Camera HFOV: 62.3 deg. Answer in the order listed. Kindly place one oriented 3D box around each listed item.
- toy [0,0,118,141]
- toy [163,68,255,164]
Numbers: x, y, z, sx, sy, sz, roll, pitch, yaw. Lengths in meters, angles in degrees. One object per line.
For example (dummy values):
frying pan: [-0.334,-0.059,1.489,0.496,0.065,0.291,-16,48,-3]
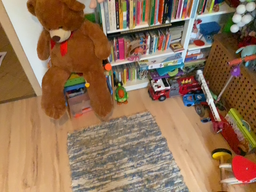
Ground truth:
toy: [-0.400,-0.190,1.550,0.540,1.050,0.490,-9,51,-8]
toy: [0.640,0.120,1.780,0.390,0.170,0.770,-13,51,-12]
